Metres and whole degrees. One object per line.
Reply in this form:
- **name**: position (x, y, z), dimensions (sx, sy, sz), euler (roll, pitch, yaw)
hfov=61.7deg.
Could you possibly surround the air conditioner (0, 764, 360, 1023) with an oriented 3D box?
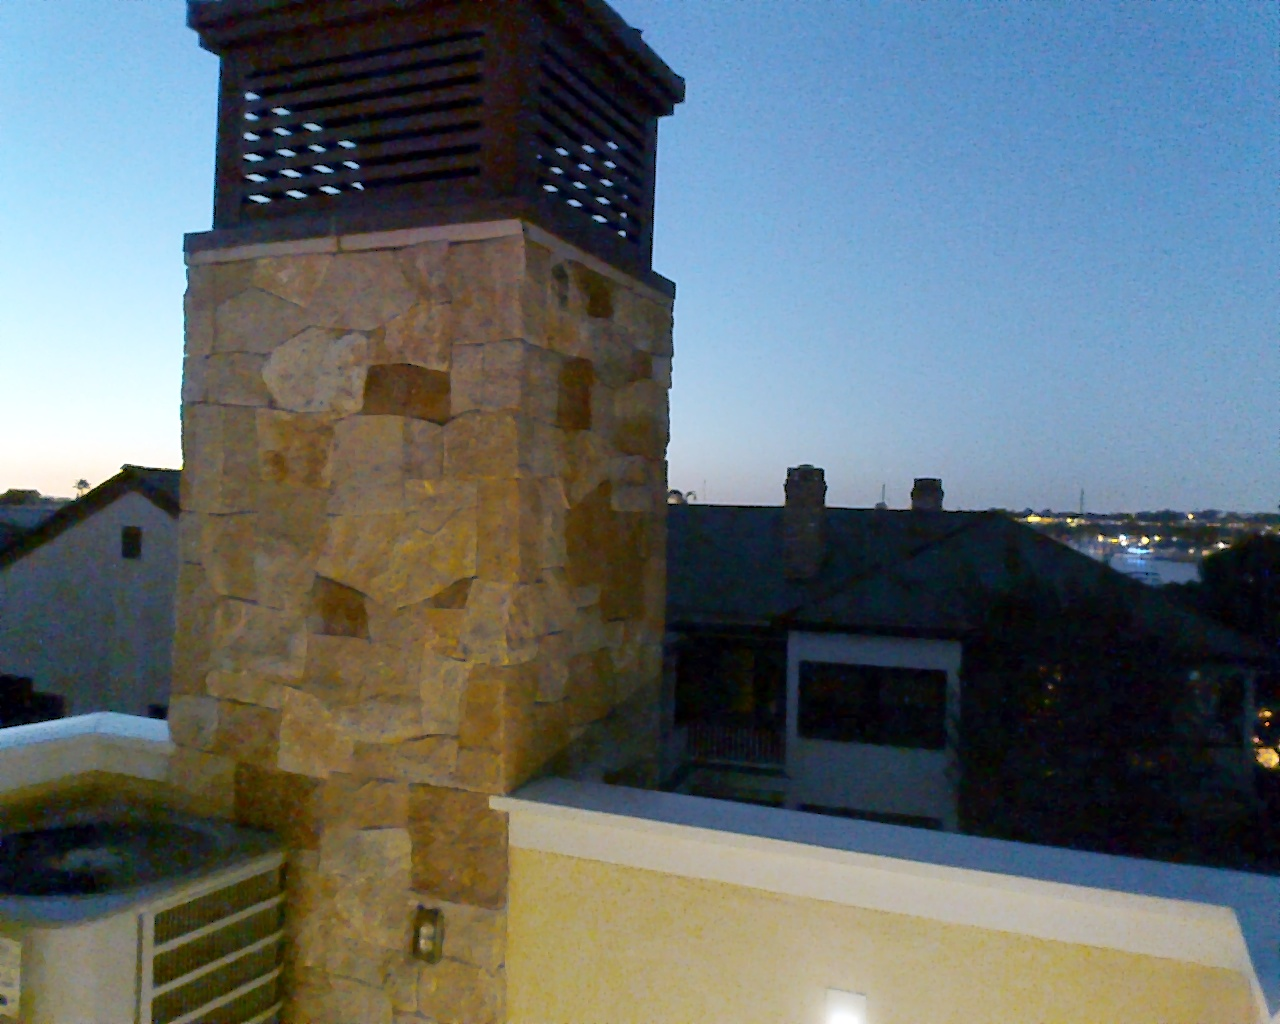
- **air conditioner**: position (-1.349, 1.231, 2.640), dimensions (0.910, 0.930, 0.830), euler (3, 0, 25)
